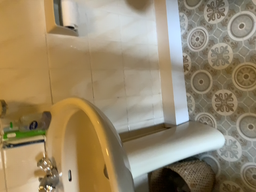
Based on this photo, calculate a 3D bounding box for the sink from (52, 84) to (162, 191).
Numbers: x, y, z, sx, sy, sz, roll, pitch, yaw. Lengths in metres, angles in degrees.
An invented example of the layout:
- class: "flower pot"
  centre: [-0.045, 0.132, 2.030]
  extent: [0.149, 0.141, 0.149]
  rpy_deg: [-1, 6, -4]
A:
- class: "sink"
  centre: [-0.090, 0.300, 0.810]
  extent: [0.390, 0.210, 0.650]
  rpy_deg: [-5, 90, 51]
